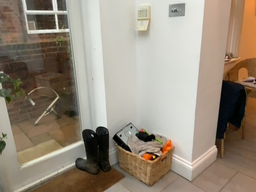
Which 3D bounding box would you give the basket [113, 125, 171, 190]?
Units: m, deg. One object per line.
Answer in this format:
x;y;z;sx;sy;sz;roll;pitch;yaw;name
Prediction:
0.120;0.540;1.970;0.300;0.340;0.440;-17;25;-39;basket

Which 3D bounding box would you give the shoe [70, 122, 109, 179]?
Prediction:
-0.360;0.500;2.000;0.220;0.390;0.280;-17;25;-39;shoe
